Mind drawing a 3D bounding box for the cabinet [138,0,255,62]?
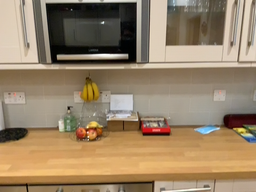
[{"bbox_3d":[0.580,-0.590,1.300,1.010,0.720,0.330,-1,13,-2],"label":"cabinet"}]
